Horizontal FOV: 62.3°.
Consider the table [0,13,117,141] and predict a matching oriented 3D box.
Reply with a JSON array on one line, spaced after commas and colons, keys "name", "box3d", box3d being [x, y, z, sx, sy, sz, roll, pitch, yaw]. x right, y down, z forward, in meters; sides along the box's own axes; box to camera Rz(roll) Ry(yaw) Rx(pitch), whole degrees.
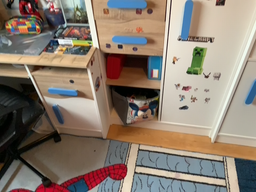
[{"name": "table", "box3d": [-0.650, -0.150, 1.630, 0.990, 0.740, 0.510, 6, 45, 10]}]
